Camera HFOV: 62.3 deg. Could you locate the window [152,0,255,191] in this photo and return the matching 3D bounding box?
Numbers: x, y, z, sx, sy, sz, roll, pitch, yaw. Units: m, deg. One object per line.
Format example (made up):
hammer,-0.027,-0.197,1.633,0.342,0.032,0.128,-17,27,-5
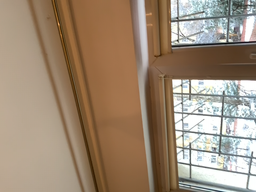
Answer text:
window,0.710,0.040,1.050,0.220,1.090,1.560,-48,-44,-58
